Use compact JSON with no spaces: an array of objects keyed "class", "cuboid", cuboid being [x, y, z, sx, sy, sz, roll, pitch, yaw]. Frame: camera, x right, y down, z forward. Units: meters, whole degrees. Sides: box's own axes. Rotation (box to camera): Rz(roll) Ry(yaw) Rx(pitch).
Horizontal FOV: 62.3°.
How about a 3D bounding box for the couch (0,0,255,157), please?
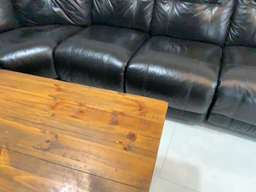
[{"class":"couch","cuboid":[-0.030,-0.550,1.710,3.120,0.950,1.020,15,44,16]}]
